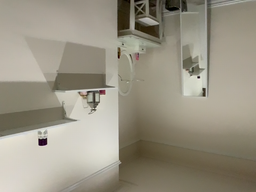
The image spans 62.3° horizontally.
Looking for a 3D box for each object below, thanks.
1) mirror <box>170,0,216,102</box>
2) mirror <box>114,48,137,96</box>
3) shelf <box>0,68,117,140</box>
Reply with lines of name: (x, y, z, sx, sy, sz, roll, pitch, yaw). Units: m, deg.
mirror: (1.010, -0.780, 3.320, 0.460, 1.680, 0.220, 10, -170, 31)
mirror: (-0.030, -0.420, 3.790, 0.110, 0.800, 0.570, 3, -174, 33)
shelf: (-0.610, 0.000, 2.060, 0.180, 0.500, 1.450, 3, -174, 33)
